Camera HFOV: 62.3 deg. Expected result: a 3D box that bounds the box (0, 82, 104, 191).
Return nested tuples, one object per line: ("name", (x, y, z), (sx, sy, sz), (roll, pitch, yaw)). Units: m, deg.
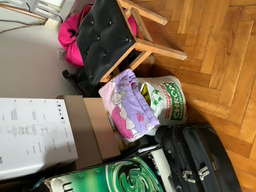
("box", (-0.440, 0.220, 0.970), (0.460, 0.390, 0.340), (-45, 58, 36))
